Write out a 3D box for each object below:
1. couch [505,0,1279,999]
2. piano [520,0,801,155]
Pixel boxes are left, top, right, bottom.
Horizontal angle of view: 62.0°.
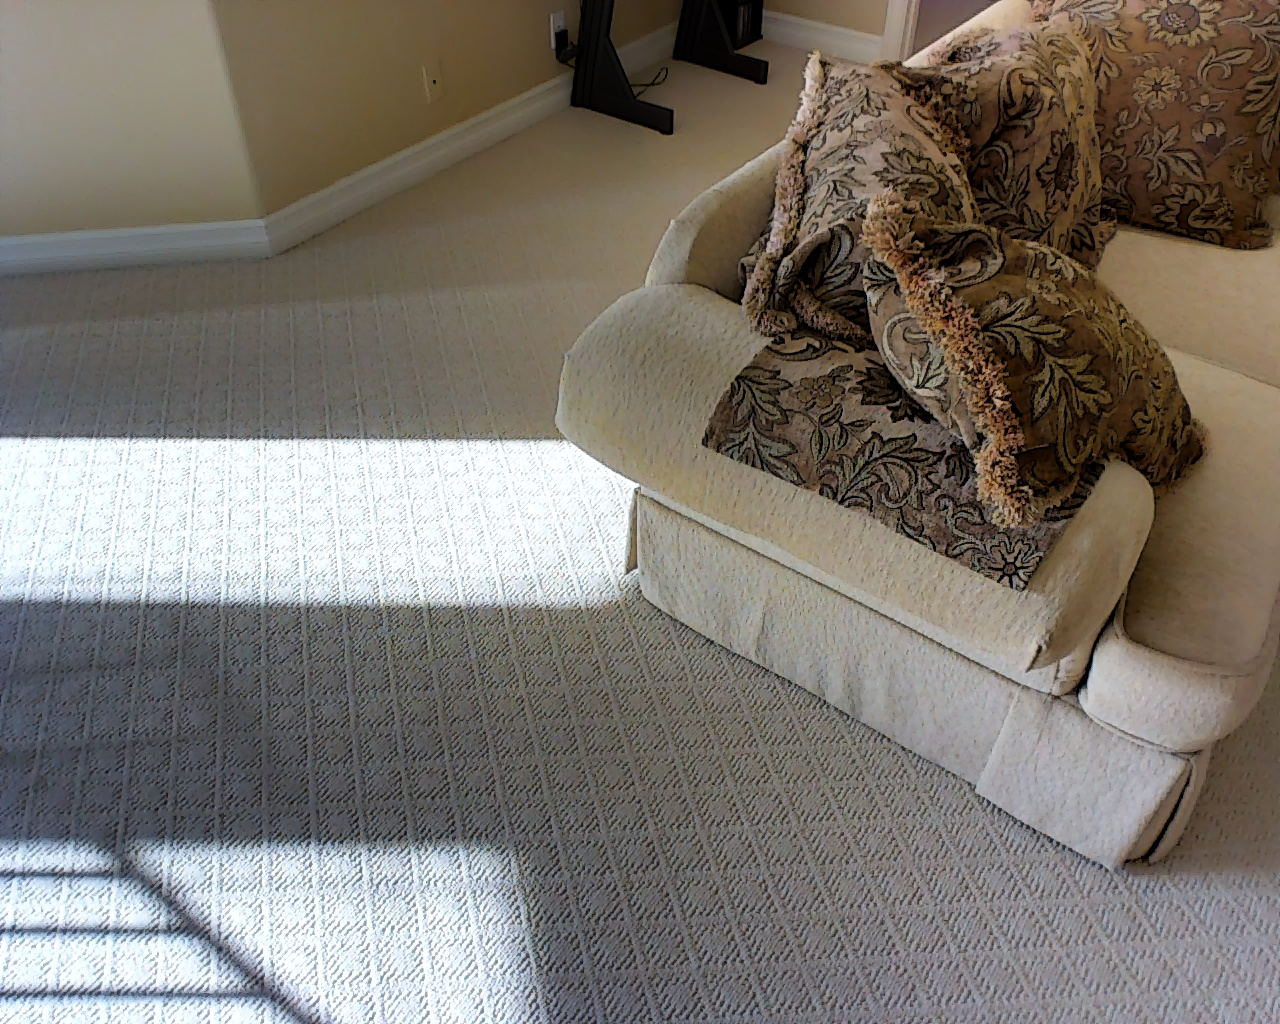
[{"bbox_3d":[0.800,-0.340,1.970,1.030,0.780,1.880,26,48,26],"label":"couch"},{"bbox_3d":[0.100,-1.890,3.560,0.500,0.980,0.960,26,48,26],"label":"piano"}]
